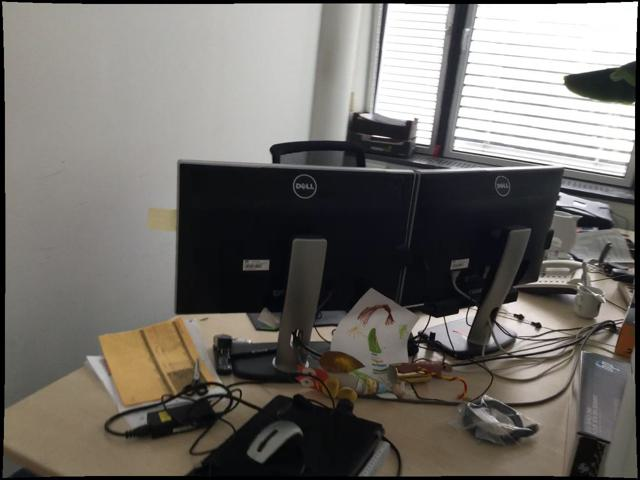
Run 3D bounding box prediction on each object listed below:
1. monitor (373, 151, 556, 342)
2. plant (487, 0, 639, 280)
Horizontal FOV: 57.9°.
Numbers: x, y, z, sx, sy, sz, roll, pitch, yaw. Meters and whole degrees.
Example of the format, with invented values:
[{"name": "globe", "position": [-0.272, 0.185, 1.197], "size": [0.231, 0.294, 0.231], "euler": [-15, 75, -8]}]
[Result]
[{"name": "monitor", "position": [0.400, 0.000, 1.610], "size": [0.460, 0.450, 0.160], "euler": [-8, 22, -31]}, {"name": "plant", "position": [1.628, -0.460, 2.460], "size": [1.469, 1.051, 1.100], "euler": [11, 20, 22]}]
